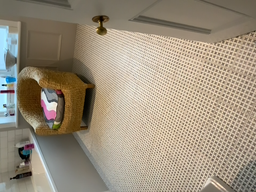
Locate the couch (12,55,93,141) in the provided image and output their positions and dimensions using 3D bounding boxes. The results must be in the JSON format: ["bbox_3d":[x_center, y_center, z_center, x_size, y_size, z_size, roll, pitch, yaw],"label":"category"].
[{"bbox_3d":[-1.060,-0.020,2.860,0.800,0.780,0.800,38,122,46],"label":"couch"}]

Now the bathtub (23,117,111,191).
[{"bbox_3d":[-0.950,1.170,2.990,1.920,0.620,0.800,39,123,45],"label":"bathtub"}]

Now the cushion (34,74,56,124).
[{"bbox_3d":[-1.080,0.020,2.730,0.590,0.090,0.430,36,121,47],"label":"cushion"}]
